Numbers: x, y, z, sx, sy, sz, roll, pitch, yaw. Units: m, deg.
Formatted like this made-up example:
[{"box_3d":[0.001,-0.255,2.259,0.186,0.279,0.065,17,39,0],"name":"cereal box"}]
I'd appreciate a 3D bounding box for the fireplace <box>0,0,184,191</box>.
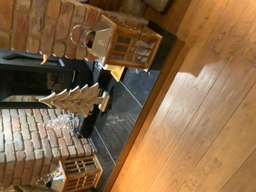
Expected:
[{"box_3d":[-0.780,0.000,1.730,1.230,1.320,1.720,50,127,41],"name":"fireplace"}]
